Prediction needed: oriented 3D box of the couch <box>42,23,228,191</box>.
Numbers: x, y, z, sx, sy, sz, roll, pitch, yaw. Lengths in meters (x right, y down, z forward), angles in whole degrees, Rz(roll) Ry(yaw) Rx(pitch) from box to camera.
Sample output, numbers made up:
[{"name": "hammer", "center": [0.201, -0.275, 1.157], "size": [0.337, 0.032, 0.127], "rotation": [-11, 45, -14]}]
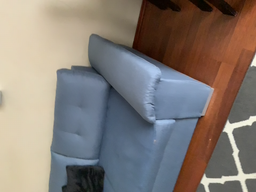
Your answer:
[{"name": "couch", "center": [-0.320, 0.940, 2.110], "size": [1.190, 0.830, 2.910], "rotation": [45, 129, 52]}]

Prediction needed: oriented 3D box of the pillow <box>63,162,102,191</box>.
[{"name": "pillow", "center": [-0.410, 0.770, 1.880], "size": [0.210, 0.290, 0.290], "rotation": [-115, 35, -57]}]
